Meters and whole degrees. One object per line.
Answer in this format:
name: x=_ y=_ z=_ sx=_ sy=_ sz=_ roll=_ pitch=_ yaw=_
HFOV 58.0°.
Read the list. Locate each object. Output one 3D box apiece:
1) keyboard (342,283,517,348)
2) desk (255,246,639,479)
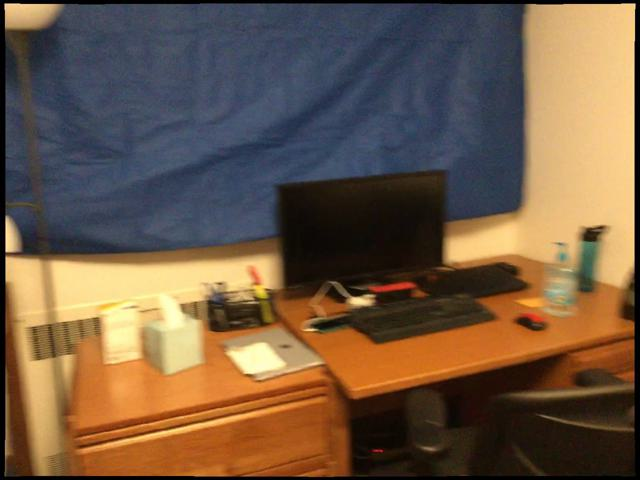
keyboard: x=0.359 y=0.240 z=1.920 sx=0.509 sy=0.050 sz=0.270 roll=-6 pitch=15 yaw=-21
desk: x=0.519 y=0.591 z=2.140 sx=1.288 sy=0.822 sz=0.890 roll=-6 pitch=15 yaw=-21
